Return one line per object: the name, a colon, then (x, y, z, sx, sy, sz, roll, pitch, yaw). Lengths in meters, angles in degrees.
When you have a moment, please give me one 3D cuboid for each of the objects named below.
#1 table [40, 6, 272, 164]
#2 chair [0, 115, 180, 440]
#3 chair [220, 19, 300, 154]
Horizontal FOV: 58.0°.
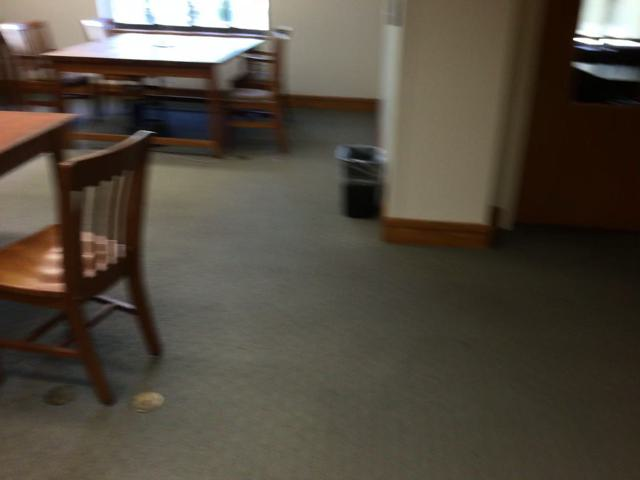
table: (-1.320, -1.450, 5.230, 1.430, 1.050, 1.760, 6, 20, 4)
chair: (-0.880, 0.080, 1.990, 0.570, 0.890, 0.560, 9, 20, 13)
chair: (-0.500, -1.280, 4.800, 0.590, 0.990, 0.570, 3, 20, -5)
